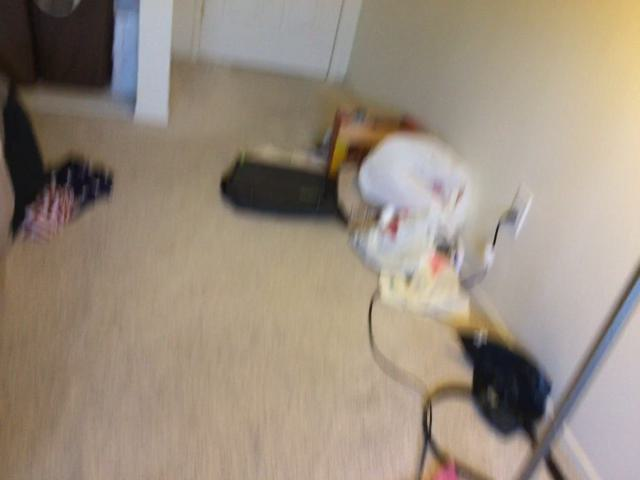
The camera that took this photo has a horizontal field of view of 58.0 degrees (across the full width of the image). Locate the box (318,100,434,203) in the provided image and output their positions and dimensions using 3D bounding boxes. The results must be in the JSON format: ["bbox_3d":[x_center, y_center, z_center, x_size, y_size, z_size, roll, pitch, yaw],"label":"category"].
[{"bbox_3d":[0.220,-0.370,2.420,0.340,0.280,0.310,5,34,-18],"label":"box"}]
